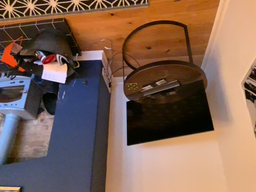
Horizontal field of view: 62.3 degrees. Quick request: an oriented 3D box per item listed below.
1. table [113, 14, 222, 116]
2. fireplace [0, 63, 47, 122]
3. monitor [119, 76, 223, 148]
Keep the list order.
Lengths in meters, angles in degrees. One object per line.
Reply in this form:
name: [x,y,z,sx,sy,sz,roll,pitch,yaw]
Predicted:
table: [0.340,-0.230,2.030,0.790,0.530,0.780,-5,151,8]
fireplace: [-1.210,-0.030,2.310,0.420,0.510,0.350,-4,151,6]
monitor: [0.290,0.160,1.760,0.860,0.400,0.070,-19,146,30]
